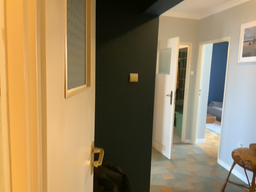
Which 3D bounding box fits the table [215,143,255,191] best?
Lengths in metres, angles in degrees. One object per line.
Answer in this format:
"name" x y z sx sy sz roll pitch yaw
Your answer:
"table" 1.430 0.940 2.550 0.480 0.590 0.490 1 8 -10
